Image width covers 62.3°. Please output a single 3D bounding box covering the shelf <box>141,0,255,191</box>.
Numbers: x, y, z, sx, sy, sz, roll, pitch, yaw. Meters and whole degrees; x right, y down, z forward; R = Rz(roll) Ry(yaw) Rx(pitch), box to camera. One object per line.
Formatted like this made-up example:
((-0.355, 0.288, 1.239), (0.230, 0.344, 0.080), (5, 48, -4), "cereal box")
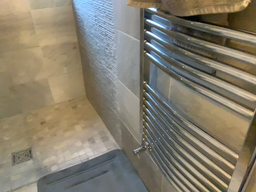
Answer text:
((0.210, 0.150, 0.740), (0.080, 1.390, 0.490), (-16, 35, -21), "shelf")
